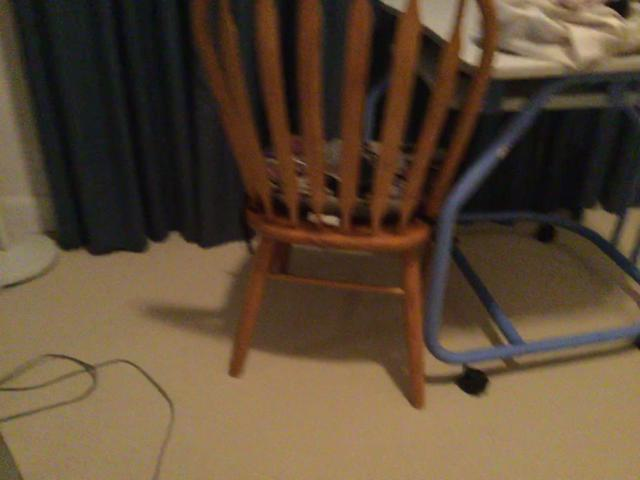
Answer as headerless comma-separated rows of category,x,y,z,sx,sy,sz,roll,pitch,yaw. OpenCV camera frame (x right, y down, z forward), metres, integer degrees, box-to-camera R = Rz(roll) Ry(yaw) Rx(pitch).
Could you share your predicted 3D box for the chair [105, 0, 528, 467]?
chair,0.060,-0.170,1.290,0.600,0.960,0.660,12,32,21
